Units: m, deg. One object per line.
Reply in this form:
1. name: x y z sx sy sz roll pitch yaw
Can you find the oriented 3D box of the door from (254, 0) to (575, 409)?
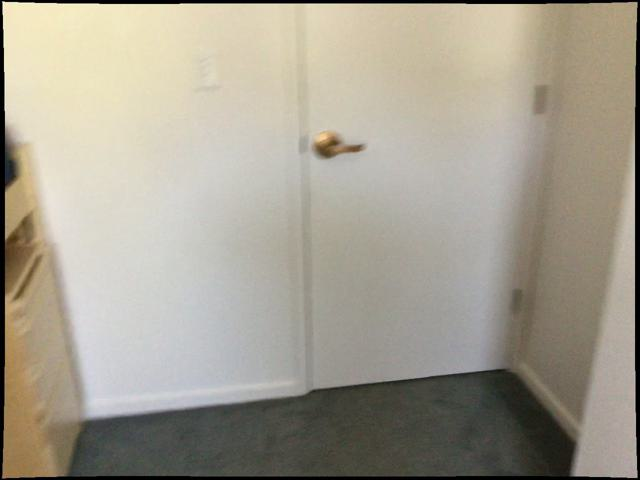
1. door: 0.309 -0.160 1.980 1.008 1.564 0.080 -4 21 -11
